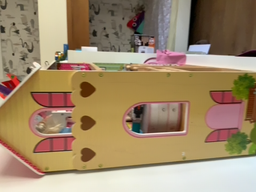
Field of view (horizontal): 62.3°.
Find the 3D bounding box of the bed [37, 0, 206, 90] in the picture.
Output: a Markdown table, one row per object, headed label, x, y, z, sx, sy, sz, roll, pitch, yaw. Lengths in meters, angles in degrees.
| label | x | y | z | sx | sy | sz | roll | pitch | yaw |
| --- | --- | --- | --- | --- | --- | --- | --- | --- | --- |
| bed | -0.110 | -1.230 | 2.490 | 1.040 | 1.670 | 2.130 | -139 | 50 | -70 |
